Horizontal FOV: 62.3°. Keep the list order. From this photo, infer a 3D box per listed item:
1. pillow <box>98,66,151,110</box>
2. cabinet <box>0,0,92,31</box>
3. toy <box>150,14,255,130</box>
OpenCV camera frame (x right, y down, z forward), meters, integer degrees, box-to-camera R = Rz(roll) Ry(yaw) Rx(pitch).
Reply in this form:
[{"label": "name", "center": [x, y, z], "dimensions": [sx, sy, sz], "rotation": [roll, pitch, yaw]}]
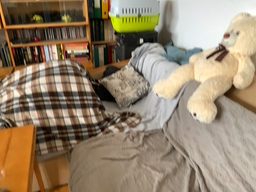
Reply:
[{"label": "pillow", "center": [-0.040, -0.090, 1.950], "dimensions": [0.380, 0.250, 0.310], "rotation": [-11, 29, -22]}, {"label": "cabinet", "center": [-1.250, -0.930, 2.090], "dimensions": [1.690, 0.480, 0.460], "rotation": [-9, 28, -18]}, {"label": "toy", "center": [0.520, -0.200, 1.400], "dimensions": [0.560, 0.580, 0.490], "rotation": [-8, 28, -17]}]
